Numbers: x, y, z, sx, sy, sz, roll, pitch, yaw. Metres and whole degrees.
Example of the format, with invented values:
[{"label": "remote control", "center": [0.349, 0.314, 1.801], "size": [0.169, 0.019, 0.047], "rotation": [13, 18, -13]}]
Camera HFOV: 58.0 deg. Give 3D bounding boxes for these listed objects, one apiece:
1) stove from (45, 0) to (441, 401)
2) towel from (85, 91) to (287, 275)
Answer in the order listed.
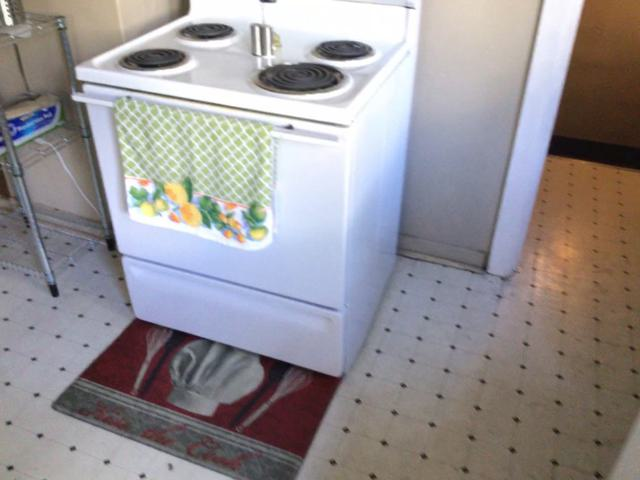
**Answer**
[{"label": "stove", "center": [-0.160, -0.300, 1.850], "size": [0.830, 1.190, 0.800], "rotation": [13, 35, 14]}, {"label": "towel", "center": [-0.350, -0.150, 1.550], "size": [0.520, 0.400, 0.080], "rotation": [13, 35, 14]}]
